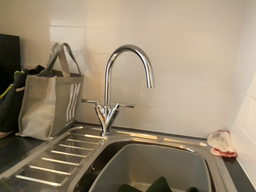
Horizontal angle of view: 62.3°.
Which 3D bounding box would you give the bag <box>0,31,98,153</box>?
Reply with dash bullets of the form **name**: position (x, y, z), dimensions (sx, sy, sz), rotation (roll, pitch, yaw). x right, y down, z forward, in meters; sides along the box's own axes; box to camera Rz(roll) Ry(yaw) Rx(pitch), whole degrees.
- **bag**: position (-0.430, -0.050, 0.800), dimensions (0.550, 0.350, 0.300), rotation (6, 11, 8)
